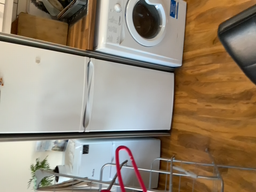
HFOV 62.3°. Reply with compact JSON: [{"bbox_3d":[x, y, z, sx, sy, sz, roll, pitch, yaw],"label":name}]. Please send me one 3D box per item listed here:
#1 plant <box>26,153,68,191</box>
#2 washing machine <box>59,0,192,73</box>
[{"bbox_3d":[-0.680,0.650,1.780,0.210,0.270,0.260,4,89,55],"label":"plant"},{"bbox_3d":[-0.030,-0.600,1.930,0.710,0.930,0.610,2,87,55],"label":"washing machine"}]
